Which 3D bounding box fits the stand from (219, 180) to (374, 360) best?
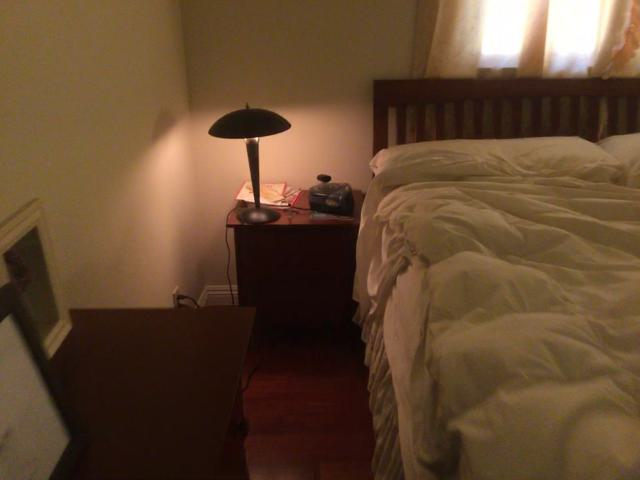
[{"bbox_3d":[-0.080,0.110,2.480,0.580,0.630,0.460,-2,19,0],"label":"stand"}]
